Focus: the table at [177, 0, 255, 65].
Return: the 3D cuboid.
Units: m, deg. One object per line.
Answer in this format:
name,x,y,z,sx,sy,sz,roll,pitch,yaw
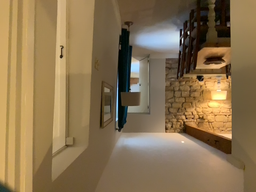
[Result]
table,1.520,-1.090,3.720,0.960,0.800,1.740,0,179,2
